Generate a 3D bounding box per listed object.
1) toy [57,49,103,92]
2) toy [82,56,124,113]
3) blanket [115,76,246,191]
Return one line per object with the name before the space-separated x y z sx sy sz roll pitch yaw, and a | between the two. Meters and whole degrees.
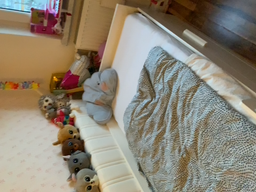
toy | -0.450 -0.230 1.970 0.210 0.310 0.320 57 136 38
toy | -0.220 -0.090 1.740 0.230 0.170 0.400 56 136 39
blanket | 0.190 0.300 1.230 0.860 0.070 0.430 54 134 41
